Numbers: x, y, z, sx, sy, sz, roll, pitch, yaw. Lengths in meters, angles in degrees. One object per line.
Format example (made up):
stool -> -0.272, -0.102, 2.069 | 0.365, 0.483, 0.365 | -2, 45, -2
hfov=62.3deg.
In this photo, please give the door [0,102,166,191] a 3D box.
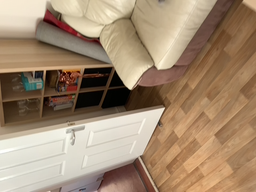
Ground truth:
door -> -0.600, 0.520, 1.910 | 0.150, 2.000, 0.760 | 56, 140, 34
